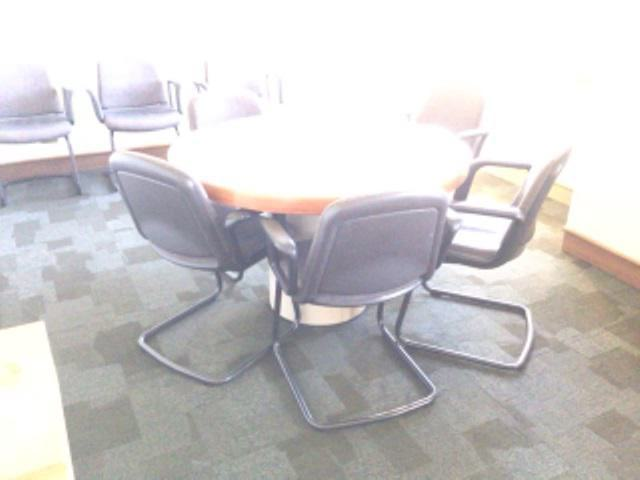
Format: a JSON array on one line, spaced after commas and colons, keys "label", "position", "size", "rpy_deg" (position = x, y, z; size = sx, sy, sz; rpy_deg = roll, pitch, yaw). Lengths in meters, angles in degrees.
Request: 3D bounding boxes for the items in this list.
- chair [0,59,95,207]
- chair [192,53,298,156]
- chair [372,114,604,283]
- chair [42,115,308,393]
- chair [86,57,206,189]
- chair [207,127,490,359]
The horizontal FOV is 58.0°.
[{"label": "chair", "position": [-1.850, -0.720, 3.770], "size": [0.540, 0.800, 0.560], "rpy_deg": [-11, 25, -22]}, {"label": "chair", "position": [-0.550, -1.010, 4.230], "size": [0.590, 0.600, 0.560], "rpy_deg": [-11, 25, -22]}, {"label": "chair", "position": [0.550, -0.180, 2.150], "size": [0.670, 0.450, 0.600], "rpy_deg": [0, 24, 2]}, {"label": "chair", "position": [-0.490, 0.000, 2.220], "size": [0.670, 0.800, 0.610], "rpy_deg": [9, 25, 22]}, {"label": "chair", "position": [-1.210, -0.840, 4.020], "size": [0.610, 0.740, 0.610], "rpy_deg": [-11, 25, -22]}, {"label": "chair", "position": [0.060, -0.050, 1.900], "size": [0.670, 0.450, 0.630], "rpy_deg": [-12, 26, -22]}]
